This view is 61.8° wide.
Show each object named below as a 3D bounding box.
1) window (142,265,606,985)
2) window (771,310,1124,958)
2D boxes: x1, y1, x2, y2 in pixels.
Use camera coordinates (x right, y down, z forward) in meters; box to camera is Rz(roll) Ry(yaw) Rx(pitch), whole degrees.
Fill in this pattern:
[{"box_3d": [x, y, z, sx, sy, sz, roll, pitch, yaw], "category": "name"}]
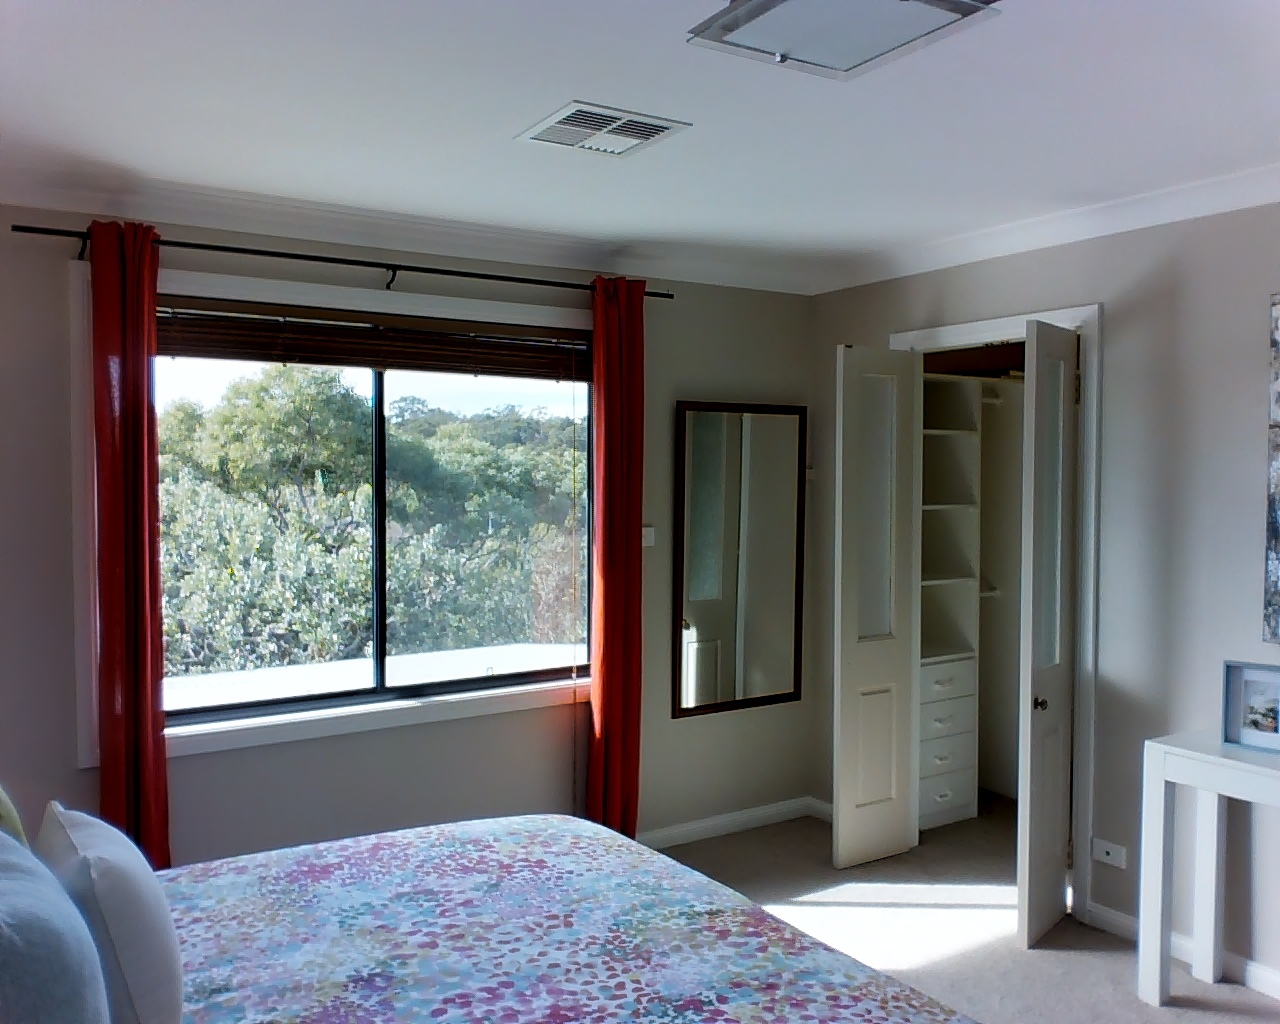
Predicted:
[{"box_3d": [-0.830, 0.330, 3.680, 1.570, 2.141, 0.180, -1, 2, -34], "category": "window"}, {"box_3d": [1.080, 0.370, 3.980, 0.500, 2.031, 1.210, -1, 2, -33], "category": "window"}]
